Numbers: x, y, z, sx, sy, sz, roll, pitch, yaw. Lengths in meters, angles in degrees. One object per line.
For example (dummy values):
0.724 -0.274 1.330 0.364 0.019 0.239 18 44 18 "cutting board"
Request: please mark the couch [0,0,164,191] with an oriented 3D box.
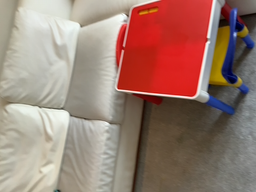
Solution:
-0.460 -0.200 1.670 1.060 0.760 2.790 4 83 42 "couch"
